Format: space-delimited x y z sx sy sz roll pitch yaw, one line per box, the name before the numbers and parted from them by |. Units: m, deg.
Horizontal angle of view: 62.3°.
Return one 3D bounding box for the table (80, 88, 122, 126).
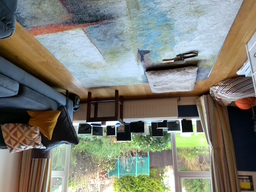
table | -0.390 0.180 3.190 0.520 0.460 0.360 -4 162 11
